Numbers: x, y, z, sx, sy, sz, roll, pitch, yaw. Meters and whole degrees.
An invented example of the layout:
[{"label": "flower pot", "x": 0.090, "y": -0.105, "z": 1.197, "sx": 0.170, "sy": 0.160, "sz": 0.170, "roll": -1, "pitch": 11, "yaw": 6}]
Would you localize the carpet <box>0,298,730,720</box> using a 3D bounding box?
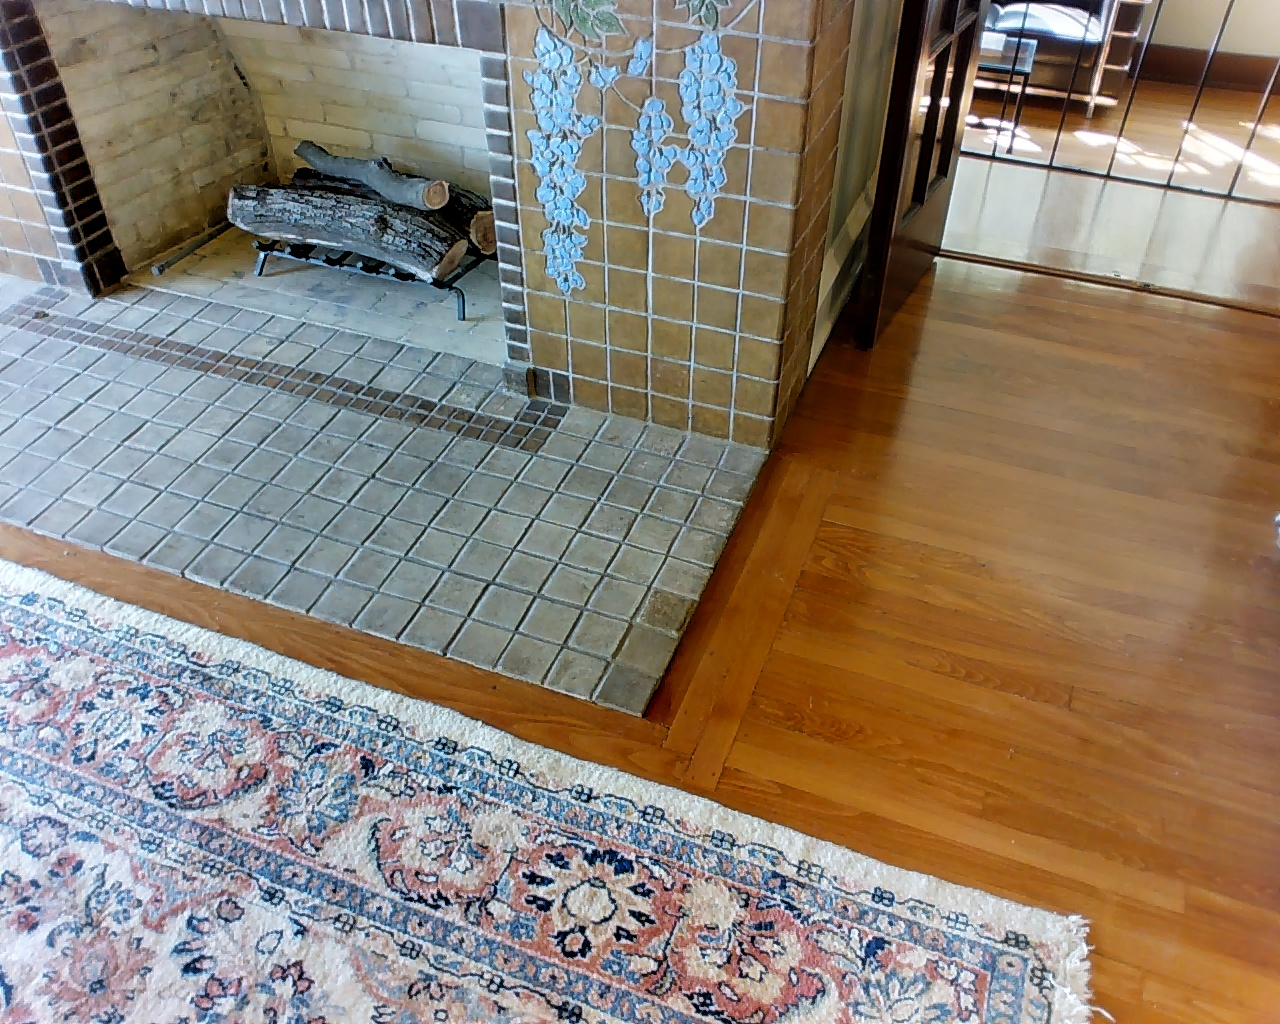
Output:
[{"label": "carpet", "x": -1.150, "y": -0.170, "z": 2.530, "sx": 2.630, "sy": 0.040, "sz": 0.690, "roll": 15, "pitch": 44, "yaw": 16}]
